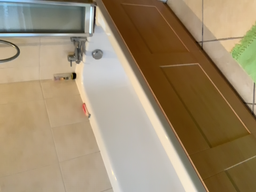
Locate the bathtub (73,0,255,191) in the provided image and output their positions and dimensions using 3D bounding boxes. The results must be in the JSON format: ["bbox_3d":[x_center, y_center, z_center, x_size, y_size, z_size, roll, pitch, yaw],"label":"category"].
[{"bbox_3d":[0.230,0.240,1.270,1.690,0.580,0.750,64,147,28],"label":"bathtub"}]
